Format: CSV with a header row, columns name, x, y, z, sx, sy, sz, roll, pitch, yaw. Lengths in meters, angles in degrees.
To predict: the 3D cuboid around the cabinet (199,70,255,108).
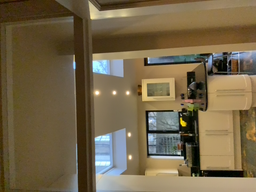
name,x,y,z,sx,sy,sz,roll,pitch,yaw
cabinet,1.800,-0.110,3.830,0.300,0.920,0.630,-4,-87,-81
